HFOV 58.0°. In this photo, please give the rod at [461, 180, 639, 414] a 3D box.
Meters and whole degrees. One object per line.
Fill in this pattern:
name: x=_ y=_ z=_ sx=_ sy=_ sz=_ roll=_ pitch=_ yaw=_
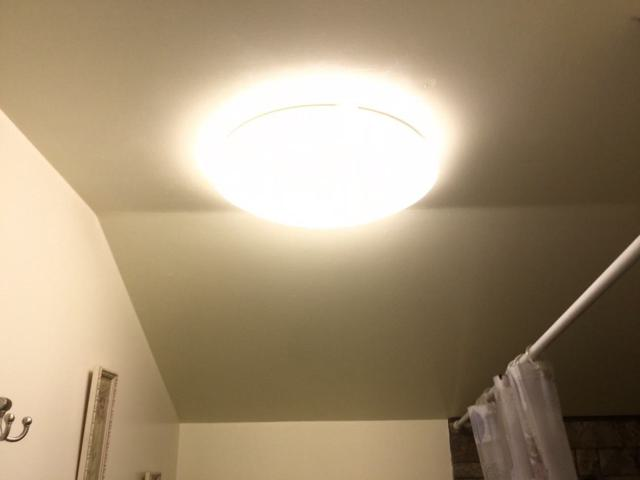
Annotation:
rod: x=0.480 y=0.230 z=1.280 sx=0.110 sy=0.130 sz=1.210 roll=-3 pitch=-25 yaw=2
